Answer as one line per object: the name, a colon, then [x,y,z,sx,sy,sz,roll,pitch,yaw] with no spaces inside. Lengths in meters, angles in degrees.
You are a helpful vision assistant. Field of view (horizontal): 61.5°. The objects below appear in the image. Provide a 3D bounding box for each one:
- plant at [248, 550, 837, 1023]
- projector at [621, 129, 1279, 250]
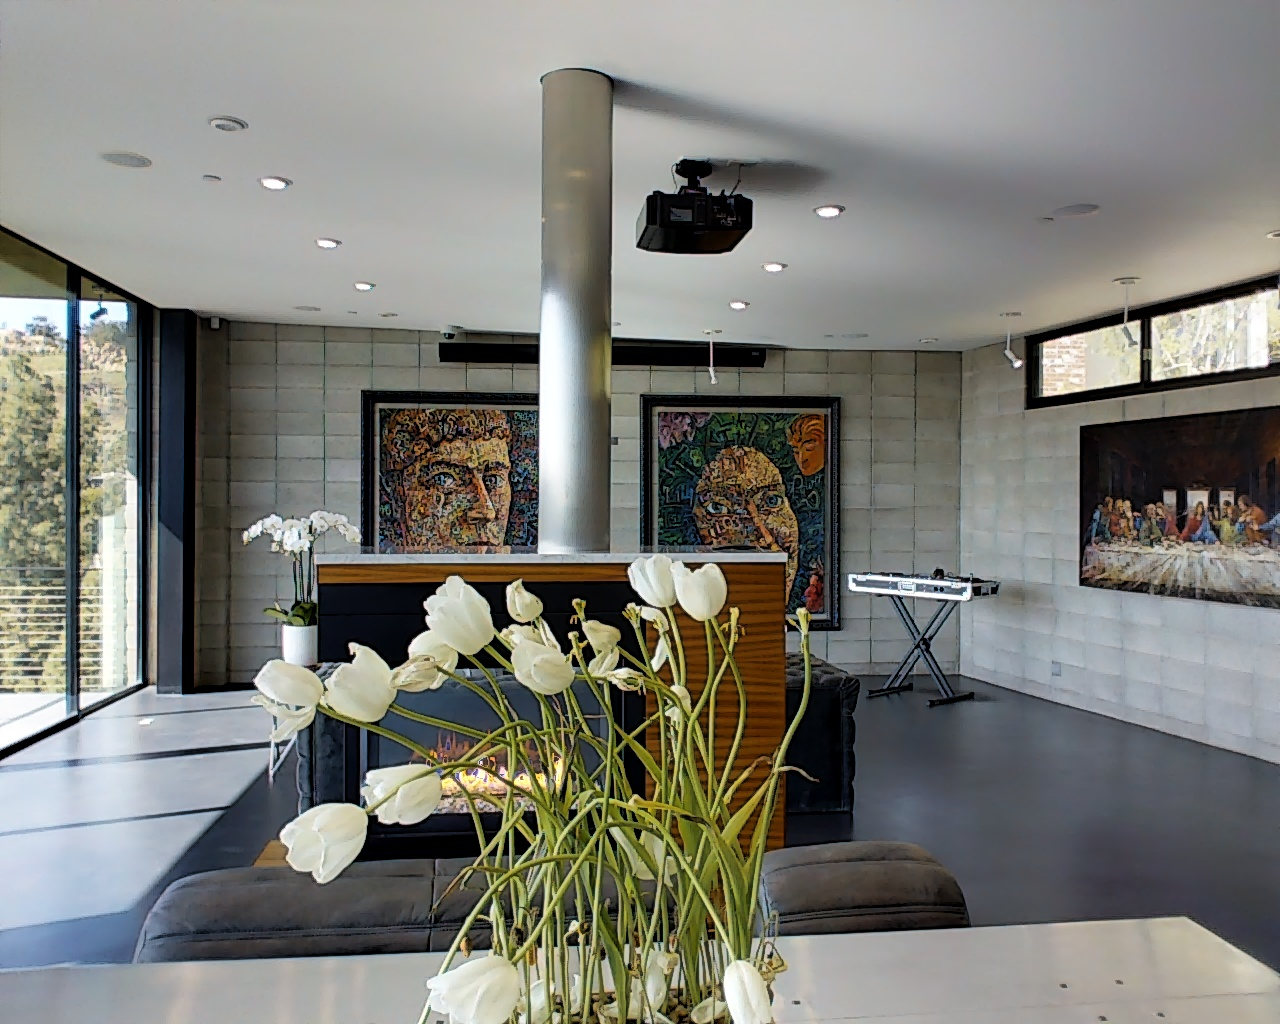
plant: [-0.130,0.420,1.470,0.700,0.720,0.360,1,0,-8]
projector: [1.360,-1.360,4.600,2.900,0.260,0.320,1,0,14]
